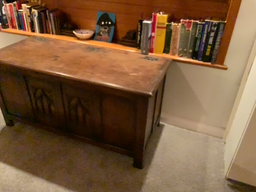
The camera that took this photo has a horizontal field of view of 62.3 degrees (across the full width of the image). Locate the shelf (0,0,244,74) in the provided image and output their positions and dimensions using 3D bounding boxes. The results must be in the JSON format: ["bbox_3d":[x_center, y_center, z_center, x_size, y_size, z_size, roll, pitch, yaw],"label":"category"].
[{"bbox_3d":[-0.230,-0.810,1.380,1.840,1.010,0.220,13,34,16],"label":"shelf"}]
